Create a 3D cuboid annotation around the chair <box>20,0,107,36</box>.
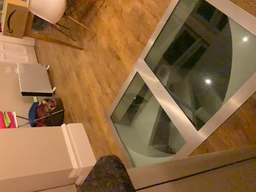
[{"bbox_3d":[-0.740,-1.040,2.440,0.510,0.780,0.420,38,117,47],"label":"chair"}]
